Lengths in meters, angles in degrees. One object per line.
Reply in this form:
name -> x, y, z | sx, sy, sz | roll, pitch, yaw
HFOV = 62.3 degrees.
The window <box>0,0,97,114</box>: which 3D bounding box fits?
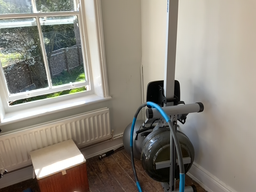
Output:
window -> -0.930, -0.680, 2.270 | 0.980, 1.510, 0.430 | -13, 25, -26
